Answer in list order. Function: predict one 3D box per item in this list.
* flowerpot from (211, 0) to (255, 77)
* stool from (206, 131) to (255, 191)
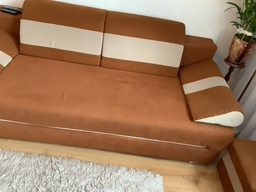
[{"bbox_3d":[1.040,-0.570,1.780,0.300,0.690,0.330,34,45,25],"label":"flowerpot"},{"bbox_3d":[0.840,0.550,1.480,0.350,0.360,0.440,7,40,-4],"label":"stool"}]
